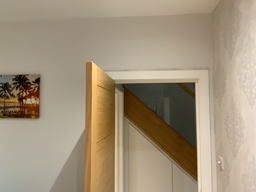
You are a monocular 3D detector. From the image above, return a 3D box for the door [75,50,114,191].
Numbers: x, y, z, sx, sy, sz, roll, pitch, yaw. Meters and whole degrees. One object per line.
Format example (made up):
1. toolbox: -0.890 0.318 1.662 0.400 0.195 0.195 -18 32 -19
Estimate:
1. door: -0.190 0.830 1.420 0.060 2.090 0.770 -1 -3 6
